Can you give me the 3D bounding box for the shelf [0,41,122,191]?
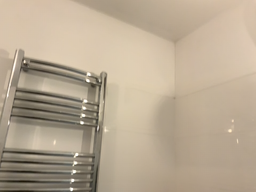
[{"bbox_3d":[-0.360,0.330,1.080,0.620,1.110,0.110,12,-19,-28],"label":"shelf"}]
